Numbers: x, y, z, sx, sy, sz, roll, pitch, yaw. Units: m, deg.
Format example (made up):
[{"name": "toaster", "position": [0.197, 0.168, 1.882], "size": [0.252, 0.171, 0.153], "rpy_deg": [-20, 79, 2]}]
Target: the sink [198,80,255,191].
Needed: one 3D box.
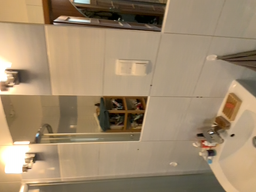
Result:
[{"name": "sink", "position": [0.650, 0.300, 1.170], "size": [0.470, 0.160, 0.620], "rpy_deg": [-103, 17, -53]}]
